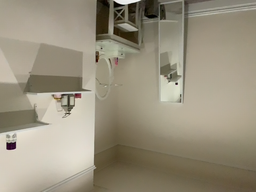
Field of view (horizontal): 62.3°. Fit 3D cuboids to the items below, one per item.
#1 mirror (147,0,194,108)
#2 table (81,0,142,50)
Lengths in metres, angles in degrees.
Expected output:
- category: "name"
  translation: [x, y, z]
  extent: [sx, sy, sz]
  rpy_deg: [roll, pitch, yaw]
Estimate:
- category: "mirror"
  translation: [0.670, -0.680, 3.400]
  extent: [0.460, 1.680, 0.220]
  rpy_deg: [10, -172, 26]
- category: "table"
  translation: [-0.220, -1.190, 3.400]
  extent: [0.480, 0.710, 1.040]
  rpy_deg: [3, -176, 27]
